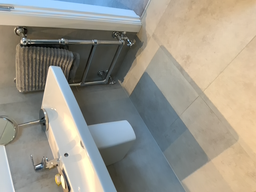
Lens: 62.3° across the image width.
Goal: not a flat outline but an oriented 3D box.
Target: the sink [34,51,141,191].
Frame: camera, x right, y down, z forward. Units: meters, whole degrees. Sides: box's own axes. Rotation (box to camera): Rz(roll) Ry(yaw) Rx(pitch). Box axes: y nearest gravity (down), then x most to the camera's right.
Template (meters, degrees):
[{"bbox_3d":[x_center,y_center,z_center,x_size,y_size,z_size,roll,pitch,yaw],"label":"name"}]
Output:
[{"bbox_3d":[-0.310,0.220,1.200,0.890,0.160,0.470,57,138,28],"label":"sink"}]
